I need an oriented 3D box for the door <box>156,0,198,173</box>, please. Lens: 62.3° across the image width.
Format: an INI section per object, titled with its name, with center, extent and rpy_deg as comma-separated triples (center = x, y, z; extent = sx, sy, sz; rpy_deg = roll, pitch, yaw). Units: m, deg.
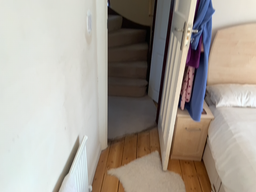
[door]
center = 0.420, -0.270, 2.010
extent = 0.050, 1.850, 0.840
rpy_deg = 4, 27, 1
